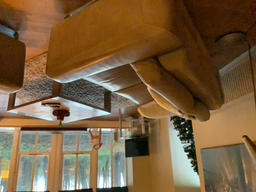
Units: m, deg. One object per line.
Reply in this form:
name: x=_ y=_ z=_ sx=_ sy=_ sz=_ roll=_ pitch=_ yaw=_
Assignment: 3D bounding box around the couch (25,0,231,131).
couch: x=0.190 y=-0.210 z=2.120 sx=1.160 sy=0.790 sz=1.780 roll=-14 pitch=159 yaw=30
